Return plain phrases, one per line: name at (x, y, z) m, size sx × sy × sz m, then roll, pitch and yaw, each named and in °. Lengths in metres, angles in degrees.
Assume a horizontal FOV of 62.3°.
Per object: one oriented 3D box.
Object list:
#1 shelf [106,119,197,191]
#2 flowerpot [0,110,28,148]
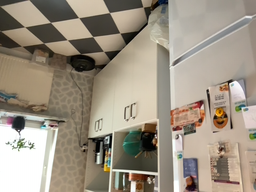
shelf at (0.150, 0.790, 1.820) m, size 0.380 × 1.010 × 0.820 m, roll 12°, pitch 160°, yaw -26°
flowerpot at (-1.440, 0.420, 2.680) m, size 0.200 × 0.430 × 0.200 m, roll 16°, pitch 157°, yaw -36°
